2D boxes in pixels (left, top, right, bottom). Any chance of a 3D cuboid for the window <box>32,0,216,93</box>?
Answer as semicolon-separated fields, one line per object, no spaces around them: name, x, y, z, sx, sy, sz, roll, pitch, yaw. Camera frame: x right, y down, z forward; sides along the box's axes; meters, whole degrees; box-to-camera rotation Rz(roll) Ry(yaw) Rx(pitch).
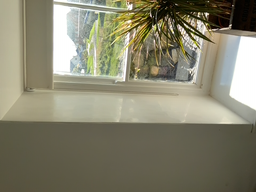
window;0.000;-0.550;1.380;0.200;1.120;1.000;-135;49;-71

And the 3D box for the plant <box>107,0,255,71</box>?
plant;0.270;-0.360;1.110;0.230;0.710;0.370;-129;43;-69
